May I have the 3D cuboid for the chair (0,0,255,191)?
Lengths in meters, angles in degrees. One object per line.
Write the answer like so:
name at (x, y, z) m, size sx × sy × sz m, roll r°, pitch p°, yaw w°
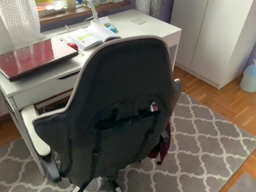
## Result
chair at (-0.130, 0.100, 1.140) m, size 0.770 × 1.220 × 0.780 m, roll -20°, pitch 46°, yaw -25°
